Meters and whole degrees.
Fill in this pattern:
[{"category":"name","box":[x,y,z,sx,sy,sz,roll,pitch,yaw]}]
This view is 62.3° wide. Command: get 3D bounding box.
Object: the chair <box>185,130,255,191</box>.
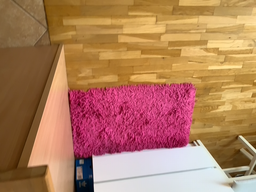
[{"category":"chair","box":[0.820,0.740,1.480,0.430,0.850,0.540,-5,120,-11]}]
